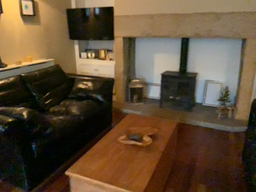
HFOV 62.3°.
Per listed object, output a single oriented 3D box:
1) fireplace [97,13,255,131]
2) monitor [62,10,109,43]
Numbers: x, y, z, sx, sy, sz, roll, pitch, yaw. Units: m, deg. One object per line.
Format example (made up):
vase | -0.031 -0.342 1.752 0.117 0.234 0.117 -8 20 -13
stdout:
fireplace | 0.730 -0.510 3.570 2.260 1.570 0.900 8 19 22
monitor | -0.780 -1.270 3.870 0.920 0.550 0.050 6 19 18
